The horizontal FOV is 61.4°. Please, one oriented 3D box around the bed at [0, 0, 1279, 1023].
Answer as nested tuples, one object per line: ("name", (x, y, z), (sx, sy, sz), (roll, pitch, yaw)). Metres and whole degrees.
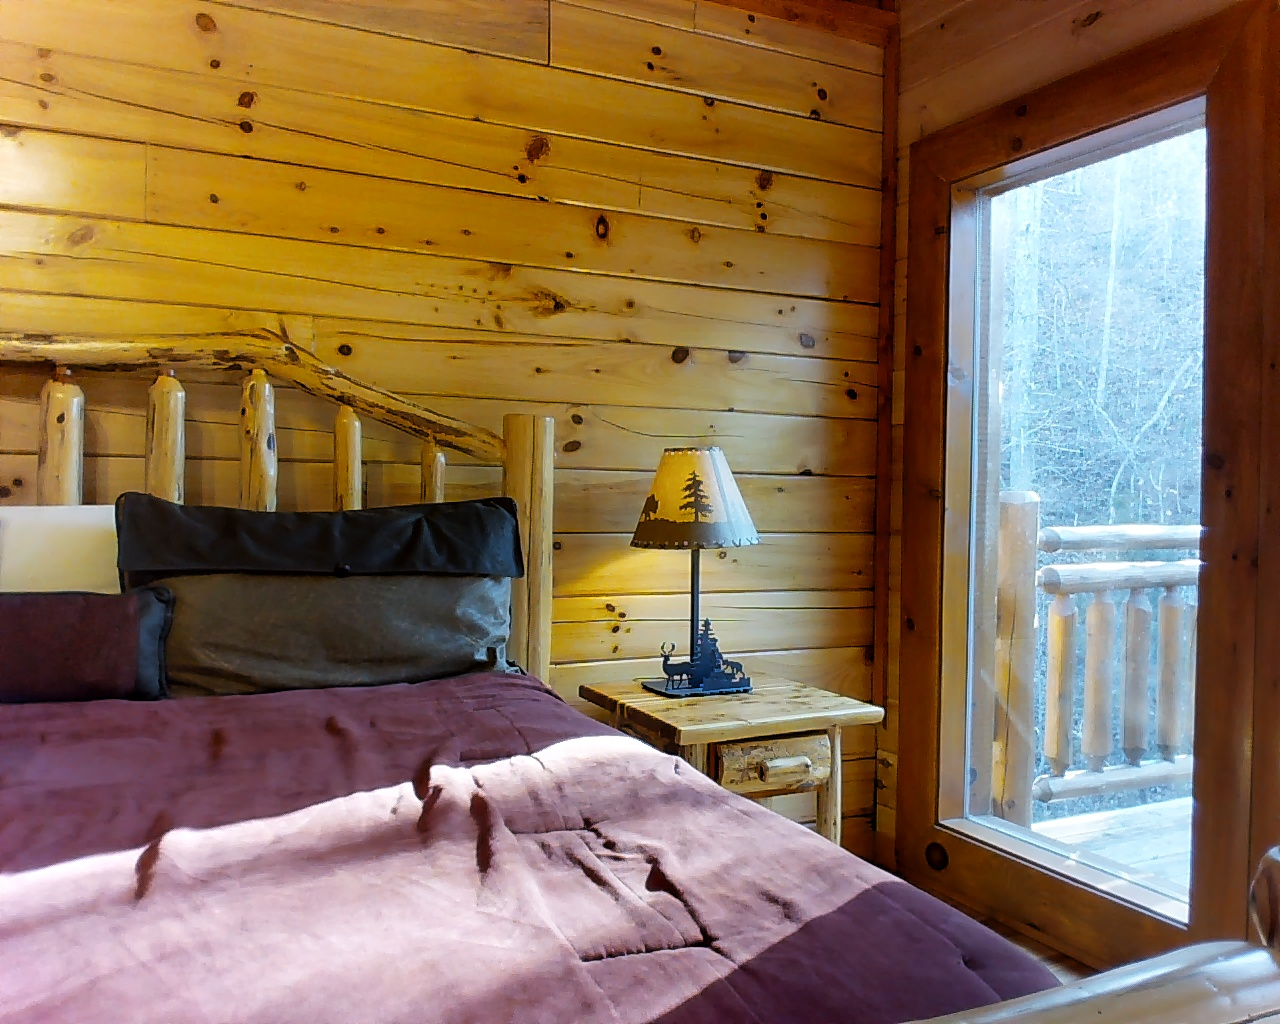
("bed", (-0.760, 0.380, 1.370), (2.379, 1.651, 2.410), (2, 1, -26))
